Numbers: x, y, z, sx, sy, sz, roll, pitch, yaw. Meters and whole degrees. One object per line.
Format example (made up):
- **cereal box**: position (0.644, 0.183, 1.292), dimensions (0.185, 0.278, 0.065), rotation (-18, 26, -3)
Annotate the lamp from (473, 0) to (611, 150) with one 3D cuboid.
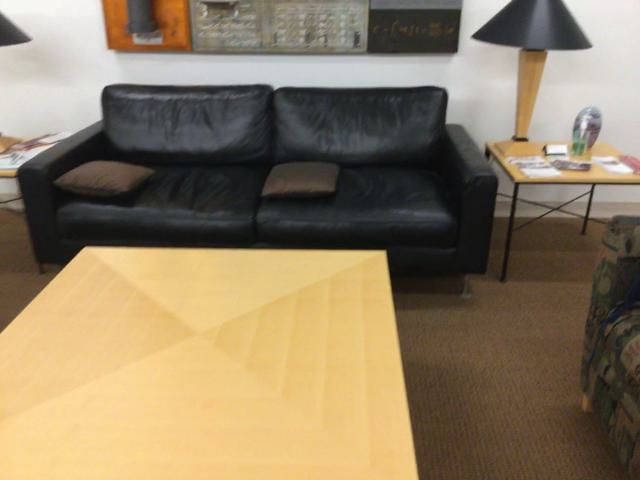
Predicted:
- **lamp**: position (0.930, -0.750, 2.490), dimensions (0.400, 0.650, 0.290), rotation (2, 23, 1)
